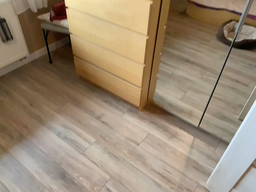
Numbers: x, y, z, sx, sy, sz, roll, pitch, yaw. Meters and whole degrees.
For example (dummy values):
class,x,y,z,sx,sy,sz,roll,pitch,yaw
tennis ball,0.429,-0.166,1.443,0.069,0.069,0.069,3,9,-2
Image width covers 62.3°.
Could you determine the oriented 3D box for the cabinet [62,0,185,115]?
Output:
class,x,y,z,sx,sy,sz,roll,pitch,yaw
cabinet,-0.070,-0.510,1.900,0.840,1.010,0.500,29,48,25
